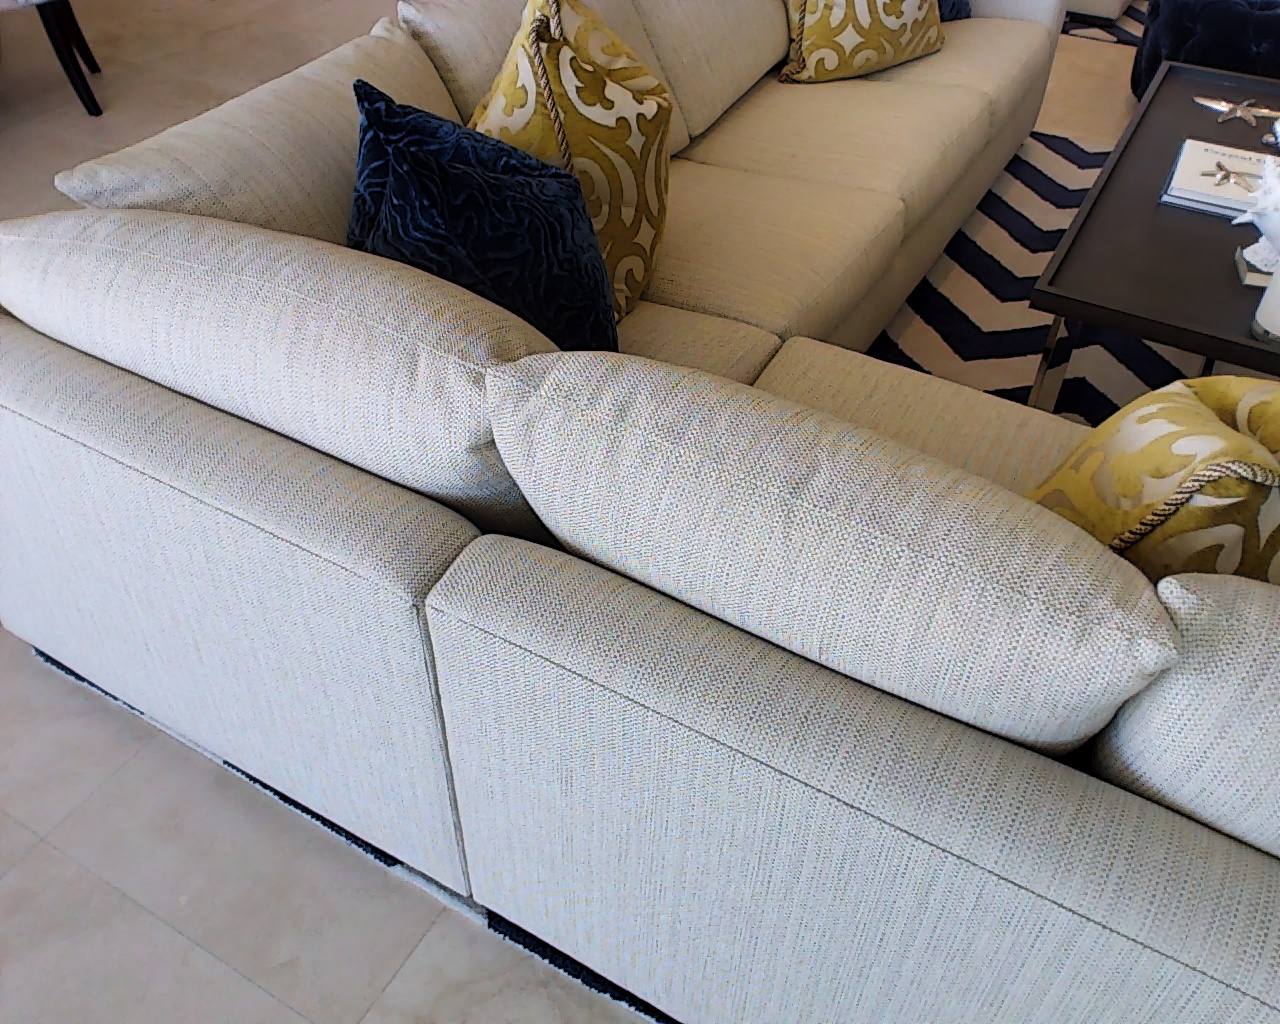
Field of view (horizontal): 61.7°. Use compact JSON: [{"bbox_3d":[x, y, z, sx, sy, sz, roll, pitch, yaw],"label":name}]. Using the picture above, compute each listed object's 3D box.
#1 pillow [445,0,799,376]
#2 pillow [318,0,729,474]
[{"bbox_3d":[-0.060,-0.710,1.980,0.340,0.600,0.600,18,-41,-25],"label":"pillow"},{"bbox_3d":[-0.180,-0.410,1.660,0.560,0.490,0.280,-20,-32,35],"label":"pillow"}]
